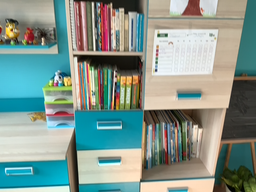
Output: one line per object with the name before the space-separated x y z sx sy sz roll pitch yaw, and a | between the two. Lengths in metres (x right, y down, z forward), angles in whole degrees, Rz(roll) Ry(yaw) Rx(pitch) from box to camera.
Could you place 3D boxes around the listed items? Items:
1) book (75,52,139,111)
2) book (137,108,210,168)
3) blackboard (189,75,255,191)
book | -0.120 -0.100 1.190 0.300 0.240 0.350 -1 20 -7
book | 0.290 0.280 1.440 0.420 0.340 0.180 -1 20 -6
blackboard | 0.850 0.330 1.630 0.640 1.000 0.060 -1 20 -7
